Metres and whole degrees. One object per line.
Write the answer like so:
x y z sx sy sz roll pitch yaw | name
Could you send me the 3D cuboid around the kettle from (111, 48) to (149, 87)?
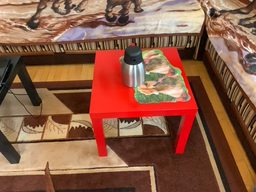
0.010 -0.150 1.140 0.190 0.190 0.080 -4 46 -2 | kettle
